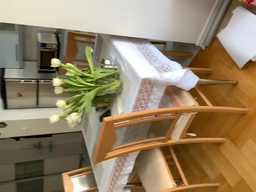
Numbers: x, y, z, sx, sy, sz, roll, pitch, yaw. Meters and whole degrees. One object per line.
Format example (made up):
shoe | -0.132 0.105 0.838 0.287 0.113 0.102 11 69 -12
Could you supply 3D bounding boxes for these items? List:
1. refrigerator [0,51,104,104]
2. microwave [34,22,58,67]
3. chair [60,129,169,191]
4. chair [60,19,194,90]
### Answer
refrigerator | -1.370 -0.320 3.890 0.680 1.650 0.600 61 142 44
microwave | -1.400 -0.860 3.580 0.460 0.320 0.570 60 141 45
chair | -0.160 0.710 2.240 0.450 0.980 0.460 62 143 43
chair | -0.030 -0.350 1.910 0.520 1.030 0.370 57 139 47
